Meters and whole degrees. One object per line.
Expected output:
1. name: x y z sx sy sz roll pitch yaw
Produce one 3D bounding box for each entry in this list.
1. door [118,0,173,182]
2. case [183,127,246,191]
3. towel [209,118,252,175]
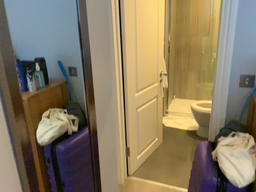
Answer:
1. door: 0.220 -0.200 2.220 0.130 2.050 0.800 11 23 33
2. case: 0.540 0.610 1.420 0.300 0.620 0.460 5 20 19
3. towel: 0.570 0.270 1.220 0.180 0.150 0.320 5 20 19
